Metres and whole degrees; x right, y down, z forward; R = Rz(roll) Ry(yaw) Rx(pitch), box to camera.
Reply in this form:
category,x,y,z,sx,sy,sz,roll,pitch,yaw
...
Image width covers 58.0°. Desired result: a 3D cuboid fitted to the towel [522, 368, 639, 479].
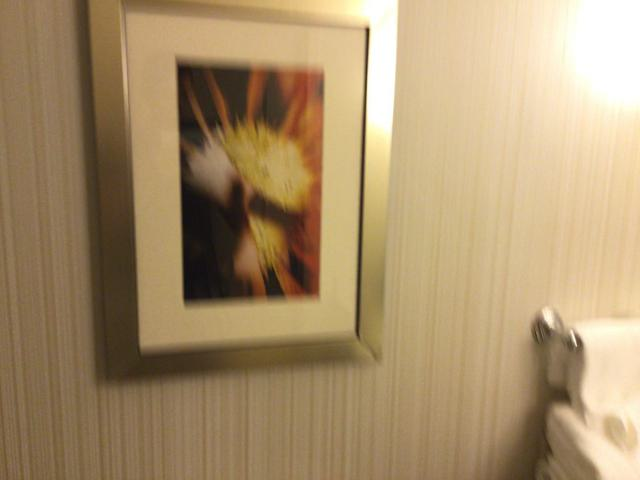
category,x,y,z,sx,sy,sz,roll,pitch,yaw
towel,0.640,0.390,1.120,0.360,0.180,0.270,1,11,-14

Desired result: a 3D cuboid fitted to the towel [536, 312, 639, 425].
category,x,y,z,sx,sy,sz,roll,pitch,yaw
towel,0.560,0.250,1.150,0.190,0.180,0.120,1,11,-14
